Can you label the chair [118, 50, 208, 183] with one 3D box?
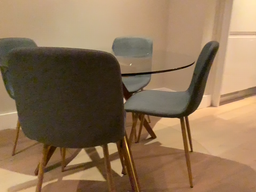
[{"bbox_3d":[0.240,0.110,1.520,0.520,0.810,0.370,7,19,17],"label":"chair"}]
